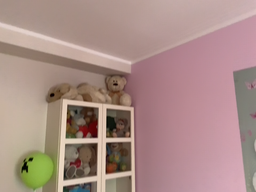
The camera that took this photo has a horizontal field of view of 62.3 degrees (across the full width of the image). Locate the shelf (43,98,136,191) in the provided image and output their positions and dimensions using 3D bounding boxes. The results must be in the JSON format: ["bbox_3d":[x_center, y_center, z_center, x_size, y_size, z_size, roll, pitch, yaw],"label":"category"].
[{"bbox_3d":[-0.310,1.060,1.870,0.810,2.000,0.260,8,-14,-39],"label":"shelf"}]
